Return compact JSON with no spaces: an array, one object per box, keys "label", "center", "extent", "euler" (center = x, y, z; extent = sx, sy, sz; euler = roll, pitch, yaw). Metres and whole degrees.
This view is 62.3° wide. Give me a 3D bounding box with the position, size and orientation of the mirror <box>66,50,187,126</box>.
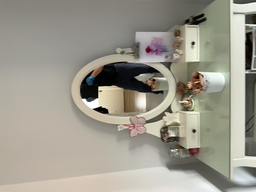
[{"label":"mirror","center":[0.000,-0.060,1.480],"extent":[0.100,0.820,0.480],"euler":[167,101,-77]}]
